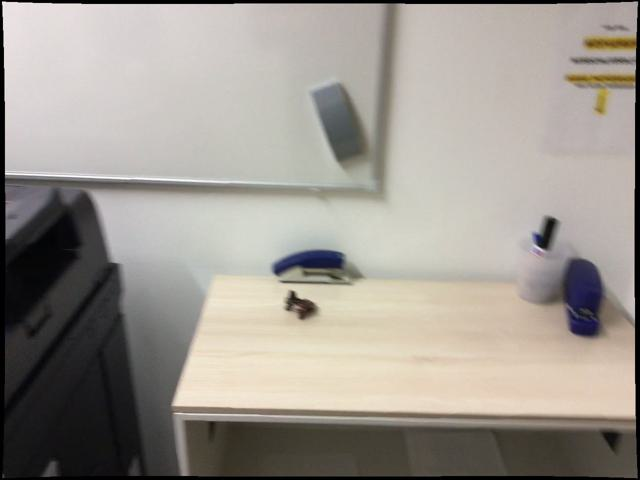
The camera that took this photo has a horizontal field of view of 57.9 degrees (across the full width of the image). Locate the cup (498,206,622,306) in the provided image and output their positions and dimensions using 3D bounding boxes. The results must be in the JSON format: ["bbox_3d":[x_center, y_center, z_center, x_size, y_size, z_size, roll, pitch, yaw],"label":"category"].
[{"bbox_3d":[0.480,0.030,1.180,0.180,0.140,0.140,5,26,5],"label":"cup"}]
